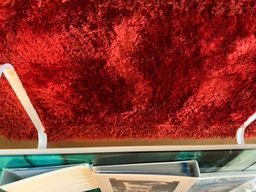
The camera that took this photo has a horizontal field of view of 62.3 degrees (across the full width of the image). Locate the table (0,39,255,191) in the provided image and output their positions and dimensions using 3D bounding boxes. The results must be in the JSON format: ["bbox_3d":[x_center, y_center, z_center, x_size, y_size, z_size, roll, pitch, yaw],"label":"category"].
[{"bbox_3d":[0.110,0.150,0.800,1.100,0.340,0.600,0,144,-6],"label":"table"}]
